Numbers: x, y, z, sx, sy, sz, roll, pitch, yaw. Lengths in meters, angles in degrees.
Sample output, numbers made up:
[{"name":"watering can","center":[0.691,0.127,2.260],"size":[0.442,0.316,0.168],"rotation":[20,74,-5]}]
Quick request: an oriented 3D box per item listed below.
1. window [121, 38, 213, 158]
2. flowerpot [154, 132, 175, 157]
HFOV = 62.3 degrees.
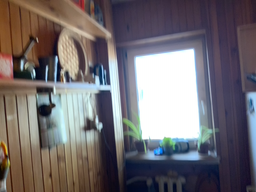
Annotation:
[{"name":"window","center":[0.390,0.050,2.220],"size":[0.850,1.170,0.120],"rotation":[-4,1,13]},{"name":"flowerpot","center":[0.370,0.480,2.130],"size":[0.180,0.200,0.220],"rotation":[-4,1,16]}]
